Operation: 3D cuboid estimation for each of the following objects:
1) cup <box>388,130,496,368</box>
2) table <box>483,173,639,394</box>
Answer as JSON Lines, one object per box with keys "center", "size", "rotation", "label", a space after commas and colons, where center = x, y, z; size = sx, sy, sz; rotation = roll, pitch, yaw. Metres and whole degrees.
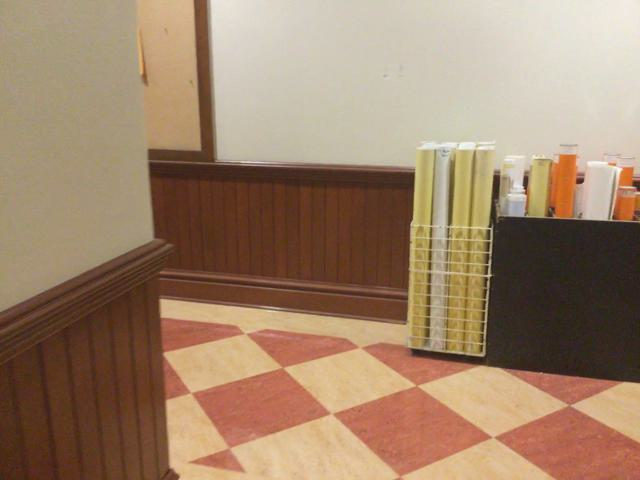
{"center": [0.660, 0.030, 3.030], "size": [0.490, 1.150, 0.440], "rotation": [-1, 13, 16], "label": "cup"}
{"center": [1.430, 0.180, 2.800], "size": [1.220, 0.940, 0.560], "rotation": [-1, 13, 16], "label": "table"}
